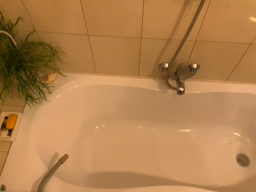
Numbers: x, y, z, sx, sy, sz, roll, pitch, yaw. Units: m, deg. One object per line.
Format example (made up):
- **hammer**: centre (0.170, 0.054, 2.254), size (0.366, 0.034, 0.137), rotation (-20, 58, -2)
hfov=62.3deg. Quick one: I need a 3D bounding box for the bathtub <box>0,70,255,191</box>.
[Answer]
- **bathtub**: centre (0.170, 0.340, 1.330), size (1.660, 0.580, 0.660), rotation (4, 59, 2)
